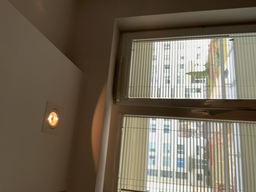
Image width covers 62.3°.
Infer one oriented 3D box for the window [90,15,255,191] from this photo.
[{"bbox_3d":[0.540,0.090,1.530,0.150,1.460,1.490,60,-146,-65],"label":"window"}]
